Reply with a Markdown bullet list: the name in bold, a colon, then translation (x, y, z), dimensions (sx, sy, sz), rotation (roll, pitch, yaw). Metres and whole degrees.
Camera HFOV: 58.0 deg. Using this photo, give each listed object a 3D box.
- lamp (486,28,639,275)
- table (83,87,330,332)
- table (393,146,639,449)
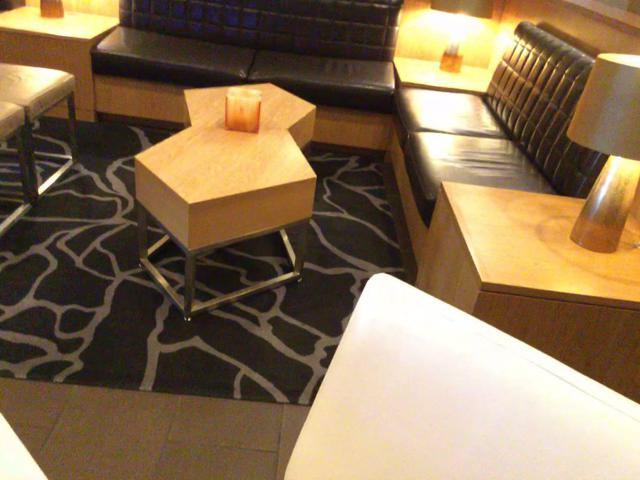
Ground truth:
- **lamp**: translation (0.820, -0.250, 1.630), dimensions (0.460, 0.550, 0.410), rotation (6, 28, -5)
- **table**: translation (-0.380, -0.180, 2.280), dimensions (0.730, 0.520, 0.990), rotation (6, 28, -5)
- **table**: translation (0.700, 0.130, 2.010), dimensions (0.670, 0.530, 0.990), rotation (6, 28, -5)
